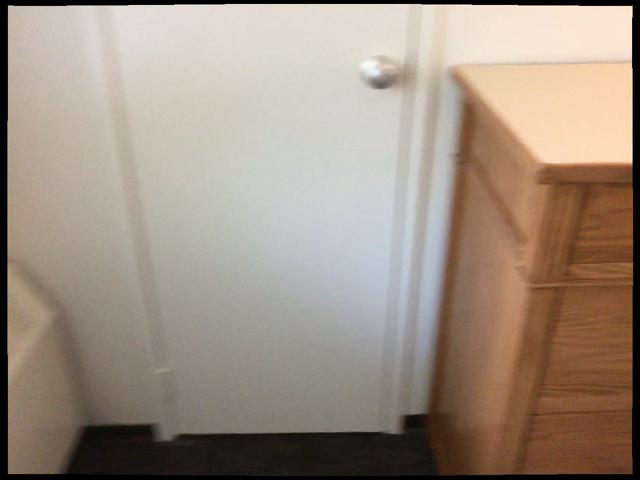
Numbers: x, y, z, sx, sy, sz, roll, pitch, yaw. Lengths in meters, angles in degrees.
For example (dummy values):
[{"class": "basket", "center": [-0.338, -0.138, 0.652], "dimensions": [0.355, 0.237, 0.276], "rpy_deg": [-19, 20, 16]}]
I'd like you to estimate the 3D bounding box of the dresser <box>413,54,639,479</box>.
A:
[{"class": "dresser", "center": [0.629, 0.240, 1.210], "dimensions": [0.729, 1.102, 0.600], "rpy_deg": [-1, 29, 1]}]
